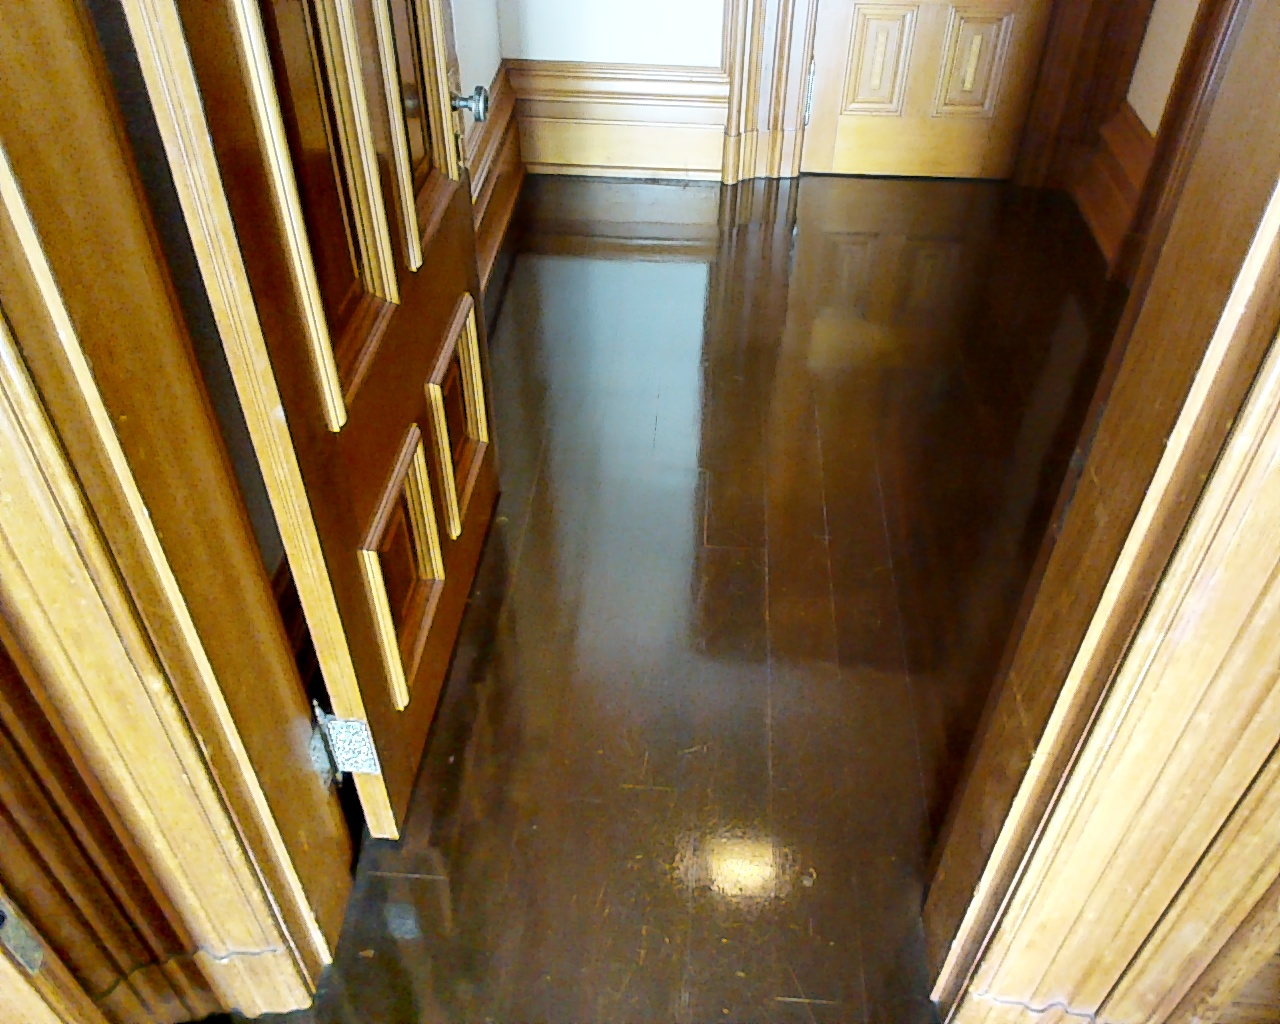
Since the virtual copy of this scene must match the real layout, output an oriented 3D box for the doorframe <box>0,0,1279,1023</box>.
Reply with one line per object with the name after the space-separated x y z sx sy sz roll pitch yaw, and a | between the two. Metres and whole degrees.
0.040 -0.230 0.660 1.400 2.550 0.230 2 42 2 | doorframe
